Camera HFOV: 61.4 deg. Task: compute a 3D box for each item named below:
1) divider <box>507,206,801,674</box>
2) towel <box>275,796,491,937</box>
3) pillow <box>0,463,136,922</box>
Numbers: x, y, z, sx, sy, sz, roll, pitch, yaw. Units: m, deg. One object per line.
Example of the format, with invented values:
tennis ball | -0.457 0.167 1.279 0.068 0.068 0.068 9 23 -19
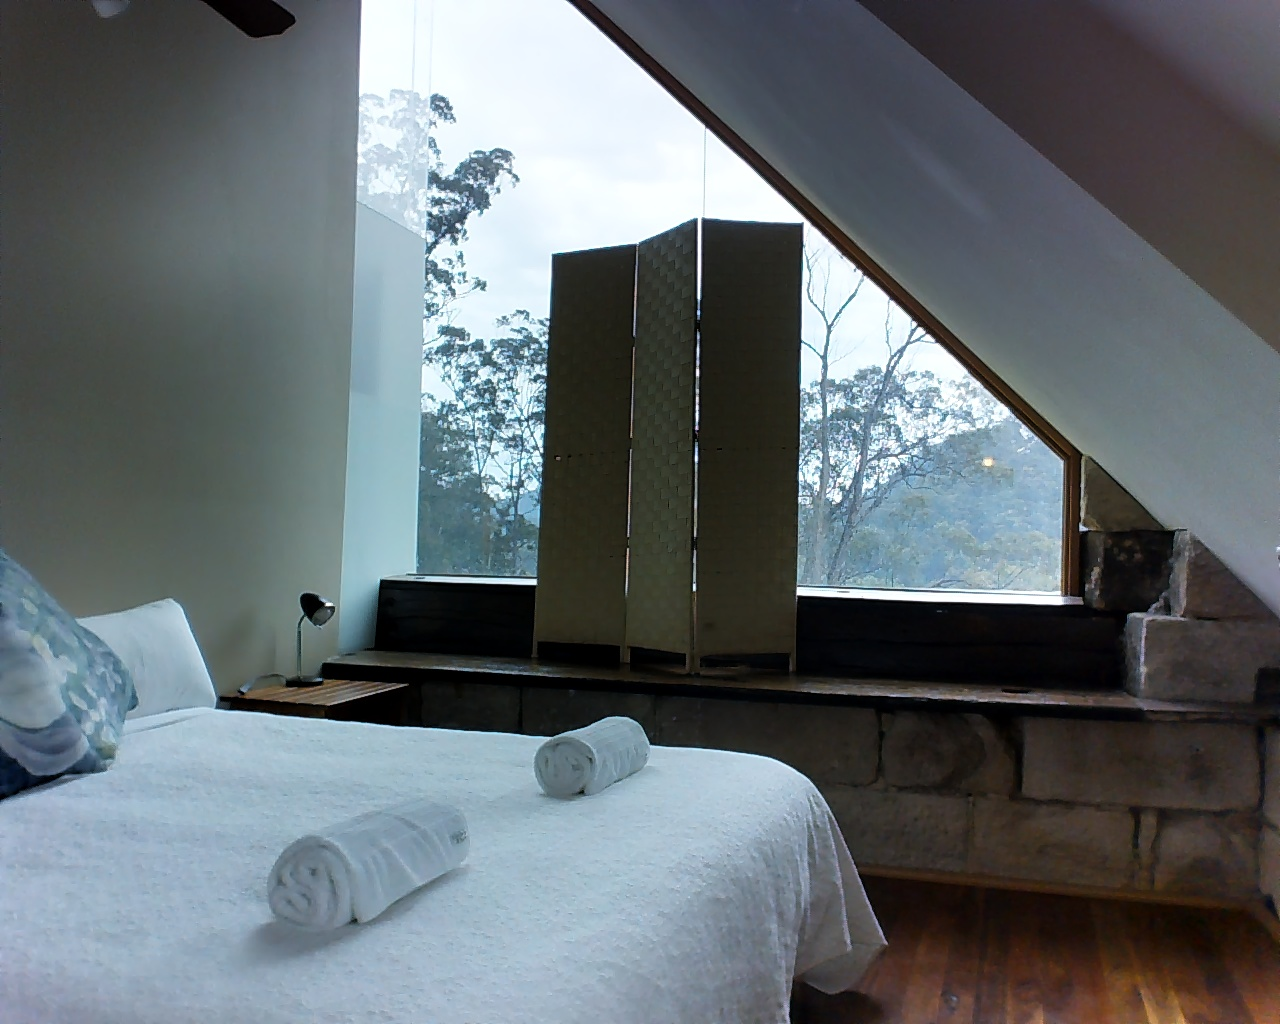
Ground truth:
divider | 0.030 -0.260 4.200 1.150 1.661 0.210 1 -2 31
towel | -0.380 0.530 1.650 0.170 0.100 0.340 1 -2 17
pillow | -1.459 0.400 2.540 0.300 0.630 0.820 -14 43 -18
